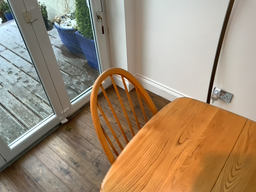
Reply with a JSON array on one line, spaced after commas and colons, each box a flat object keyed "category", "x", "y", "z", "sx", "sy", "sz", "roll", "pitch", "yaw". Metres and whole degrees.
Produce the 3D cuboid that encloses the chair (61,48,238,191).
[{"category": "chair", "x": 0.100, "y": 0.340, "z": 1.100, "sx": 0.480, "sy": 0.960, "sz": 0.440, "roll": 27, "pitch": 51, "yaw": 28}]
